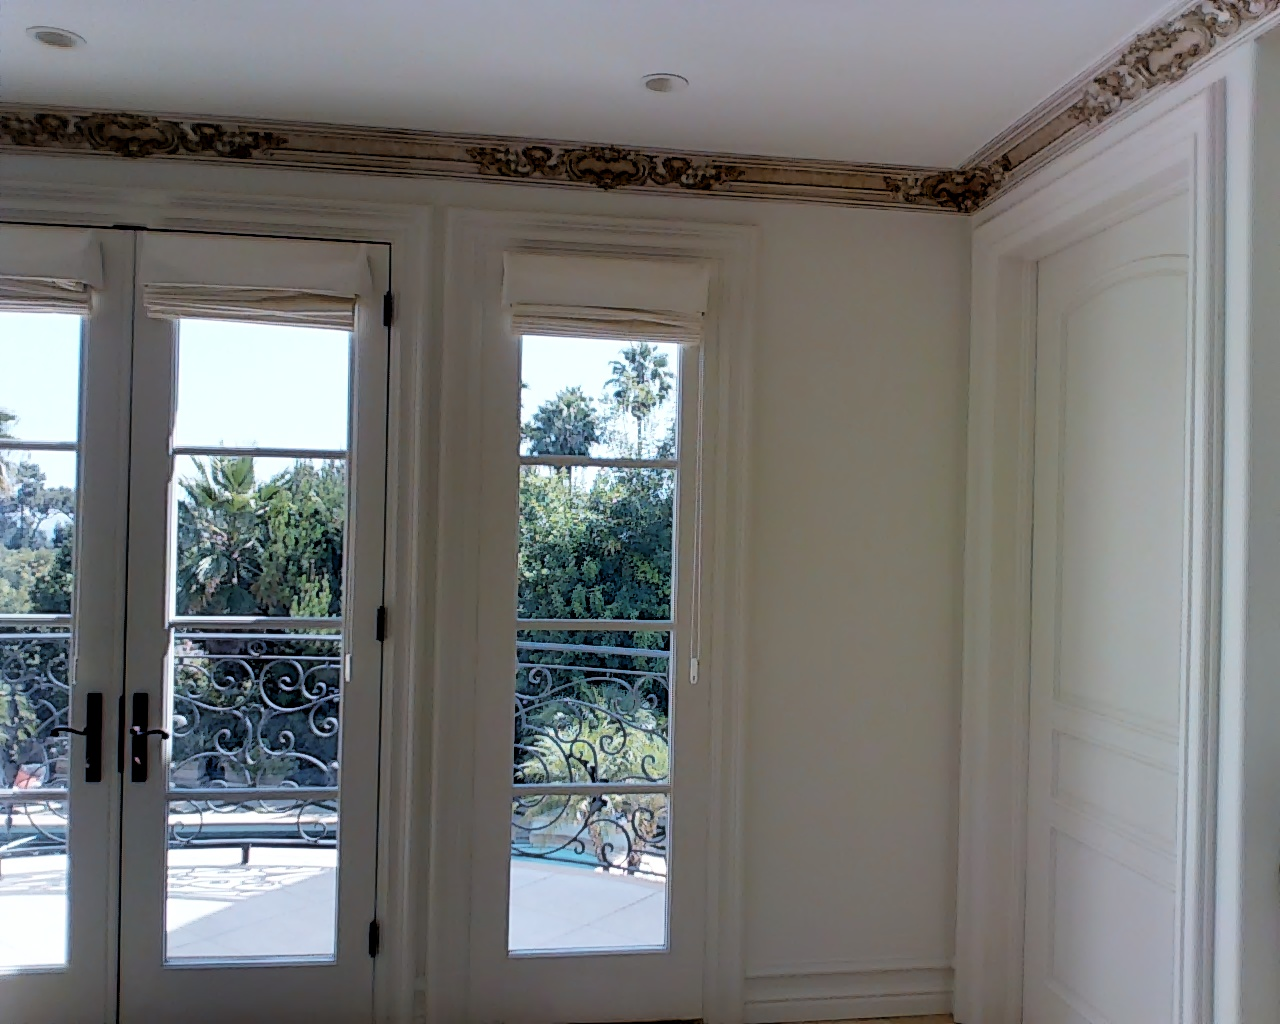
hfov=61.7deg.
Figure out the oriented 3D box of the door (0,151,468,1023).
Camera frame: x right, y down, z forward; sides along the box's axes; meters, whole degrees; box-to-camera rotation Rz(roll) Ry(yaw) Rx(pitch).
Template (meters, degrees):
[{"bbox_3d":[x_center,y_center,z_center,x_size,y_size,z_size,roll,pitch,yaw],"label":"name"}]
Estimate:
[{"bbox_3d":[-1.500,0.280,3.120,1.900,2.551,0.200,2,-1,-9],"label":"door"}]
